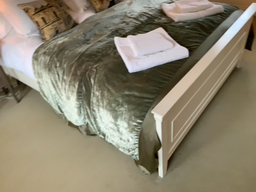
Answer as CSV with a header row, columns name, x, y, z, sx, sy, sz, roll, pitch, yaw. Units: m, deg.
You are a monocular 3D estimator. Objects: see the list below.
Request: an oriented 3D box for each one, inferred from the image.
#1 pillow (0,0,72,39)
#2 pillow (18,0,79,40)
name,x,y,z,sx,sy,sz,roll,pitch,yaw
pillow,-0.950,-0.900,2.030,0.550,0.420,0.480,25,51,33
pillow,-0.710,-0.760,1.920,0.160,0.360,0.340,-10,26,51
